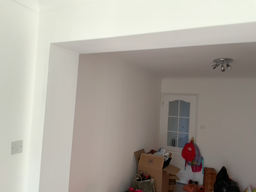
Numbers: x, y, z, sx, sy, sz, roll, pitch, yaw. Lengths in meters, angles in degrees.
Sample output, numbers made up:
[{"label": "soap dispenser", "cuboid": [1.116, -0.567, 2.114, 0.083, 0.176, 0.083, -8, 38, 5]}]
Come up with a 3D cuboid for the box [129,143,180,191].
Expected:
[{"label": "box", "cuboid": [0.520, 1.420, 4.000, 0.750, 0.880, 0.640, 3, -2, 24]}]
